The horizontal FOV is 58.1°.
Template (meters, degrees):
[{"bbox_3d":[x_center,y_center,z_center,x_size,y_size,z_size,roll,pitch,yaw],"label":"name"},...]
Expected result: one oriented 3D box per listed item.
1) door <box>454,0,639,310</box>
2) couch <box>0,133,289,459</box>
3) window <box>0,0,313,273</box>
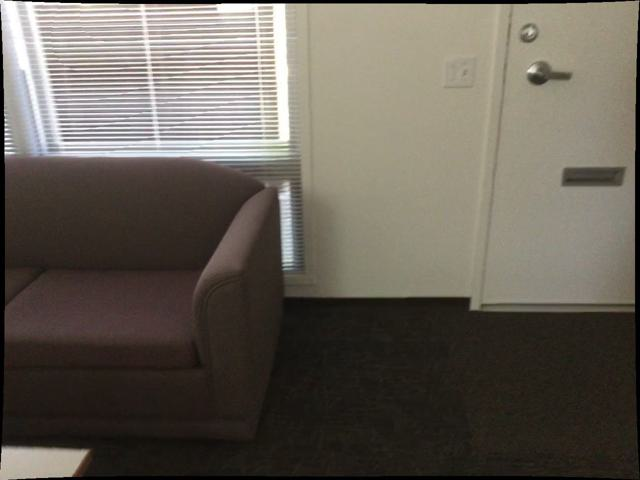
[{"bbox_3d":[1.098,-0.621,2.190,0.998,2.033,0.080,0,25,2],"label":"door"},{"bbox_3d":[-1.098,0.120,2.240,1.827,0.771,1.120,0,25,2],"label":"couch"},{"bbox_3d":[-0.639,-0.851,2.370,1.148,2.013,0.410,0,25,2],"label":"window"}]
